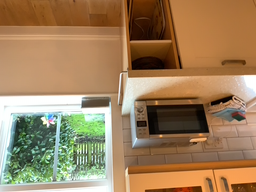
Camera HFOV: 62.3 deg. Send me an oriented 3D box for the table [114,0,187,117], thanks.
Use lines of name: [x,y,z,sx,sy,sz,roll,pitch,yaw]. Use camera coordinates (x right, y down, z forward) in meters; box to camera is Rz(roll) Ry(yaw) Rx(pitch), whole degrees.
table: [0.090,-0.380,1.560,0.330,0.900,0.620,-2,157,-6]

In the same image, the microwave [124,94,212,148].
microwave: [0.240,0.180,1.450,0.490,0.270,0.320,-1,157,-7]
